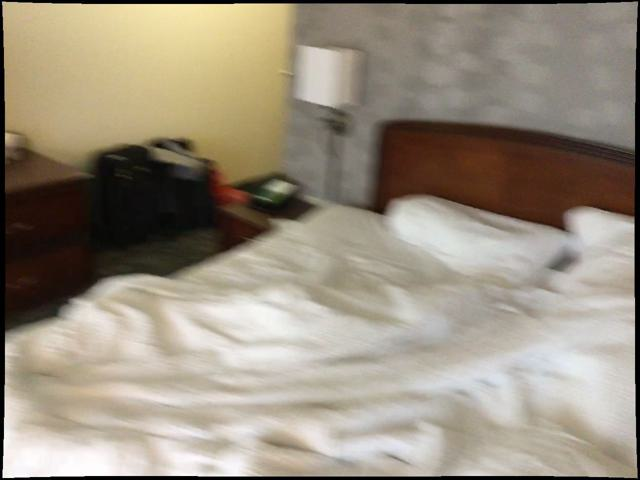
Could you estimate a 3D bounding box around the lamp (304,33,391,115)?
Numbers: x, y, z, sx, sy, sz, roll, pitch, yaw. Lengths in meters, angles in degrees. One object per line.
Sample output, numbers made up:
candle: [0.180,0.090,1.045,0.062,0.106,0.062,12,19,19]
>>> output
lamp: [0.120,-0.741,2.560,0.260,0.290,0.240,21,29,28]
